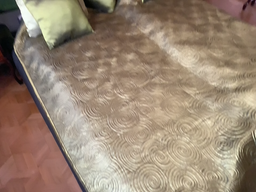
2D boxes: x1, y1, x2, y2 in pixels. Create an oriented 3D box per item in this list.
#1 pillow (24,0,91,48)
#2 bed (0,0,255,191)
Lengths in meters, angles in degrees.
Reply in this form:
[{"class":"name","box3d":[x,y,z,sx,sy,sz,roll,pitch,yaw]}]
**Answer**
[{"class":"pillow","box3d":[-0.540,-0.640,1.660,0.370,0.310,0.280,-31,56,-24]},{"class":"bed","box3d":[0.260,-0.330,1.530,1.950,1.020,2.220,-28,55,-22]}]
